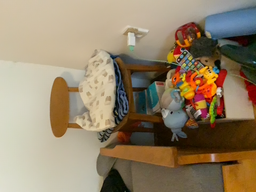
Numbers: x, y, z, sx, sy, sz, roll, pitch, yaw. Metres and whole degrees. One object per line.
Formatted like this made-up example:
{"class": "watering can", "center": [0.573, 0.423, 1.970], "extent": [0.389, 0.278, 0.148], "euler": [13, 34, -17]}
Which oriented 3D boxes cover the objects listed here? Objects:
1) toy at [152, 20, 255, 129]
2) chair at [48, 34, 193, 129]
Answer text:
{"class": "toy", "center": [0.330, -0.060, 1.020], "extent": [0.380, 0.250, 0.400], "euler": [154, 118, -62]}
{"class": "chair", "center": [-0.060, -0.020, 1.300], "extent": [0.430, 0.750, 0.410], "euler": [155, 117, -62]}
